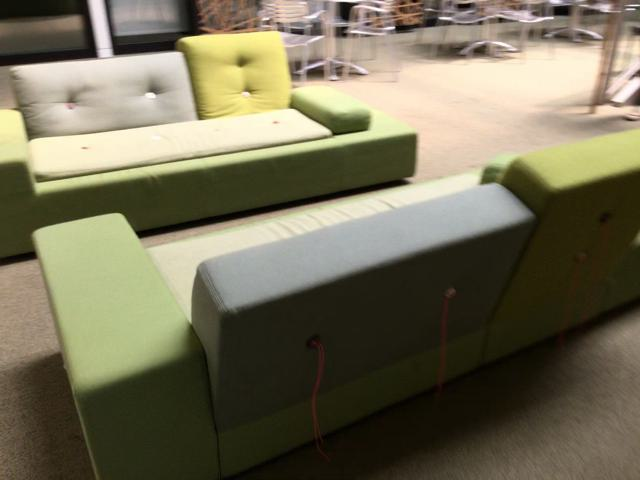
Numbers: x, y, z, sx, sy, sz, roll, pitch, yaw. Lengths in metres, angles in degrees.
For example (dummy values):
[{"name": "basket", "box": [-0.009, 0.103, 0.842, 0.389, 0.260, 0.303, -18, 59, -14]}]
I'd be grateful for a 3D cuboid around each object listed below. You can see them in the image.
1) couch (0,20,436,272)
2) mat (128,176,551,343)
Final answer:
[{"name": "couch", "box": [-0.630, -0.640, 3.090, 2.250, 0.800, 0.980, -13, 31, -25]}, {"name": "mat", "box": [0.100, 0.000, 1.990, 1.380, 0.080, 0.490, -13, 30, -25]}]
